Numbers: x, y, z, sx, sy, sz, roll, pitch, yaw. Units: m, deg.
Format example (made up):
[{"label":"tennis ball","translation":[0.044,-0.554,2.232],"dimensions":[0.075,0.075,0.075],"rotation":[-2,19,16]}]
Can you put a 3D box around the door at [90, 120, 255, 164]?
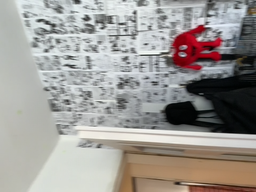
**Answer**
[{"label":"door","translation":[0.910,0.280,0.970],"dimensions":[0.900,1.950,0.080],"rotation":[60,-147,-69]}]
